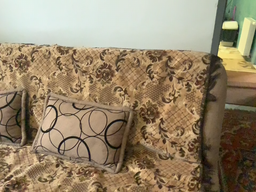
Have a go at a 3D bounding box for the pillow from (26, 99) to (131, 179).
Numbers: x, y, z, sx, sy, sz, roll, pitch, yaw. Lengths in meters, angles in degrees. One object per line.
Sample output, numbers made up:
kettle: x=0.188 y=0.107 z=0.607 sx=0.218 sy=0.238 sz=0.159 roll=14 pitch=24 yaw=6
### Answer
pillow: x=-0.260 y=0.210 z=1.140 sx=0.520 sy=0.350 sz=0.150 roll=3 pitch=1 yaw=11

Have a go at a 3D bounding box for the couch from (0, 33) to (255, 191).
couch: x=-0.500 y=0.250 z=1.200 sx=1.930 sy=0.940 sz=1.000 roll=6 pitch=28 yaw=13
